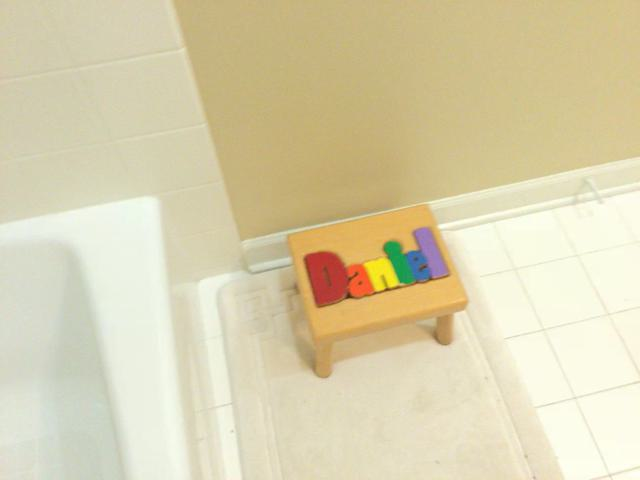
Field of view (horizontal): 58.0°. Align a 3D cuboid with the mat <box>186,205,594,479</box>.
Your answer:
[{"bbox_3d":[0.130,0.390,1.080,0.640,0.910,0.100,-12,-31,-6],"label":"mat"}]
